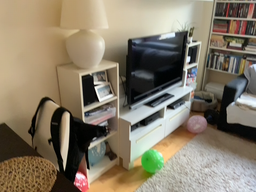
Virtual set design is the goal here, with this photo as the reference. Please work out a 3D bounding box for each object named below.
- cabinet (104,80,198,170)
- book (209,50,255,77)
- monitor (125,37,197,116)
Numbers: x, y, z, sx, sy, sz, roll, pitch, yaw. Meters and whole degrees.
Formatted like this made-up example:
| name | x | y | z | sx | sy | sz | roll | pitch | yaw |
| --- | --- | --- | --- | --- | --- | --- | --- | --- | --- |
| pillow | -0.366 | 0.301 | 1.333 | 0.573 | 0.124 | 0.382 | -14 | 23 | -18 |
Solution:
| name | x | y | z | sx | sy | sz | roll | pitch | yaw |
| --- | --- | --- | --- | --- | --- | --- | --- | --- | --- |
| cabinet | 0.320 | 0.250 | 2.530 | 0.440 | 0.530 | 1.220 | 20 | 29 | 37 |
| book | 1.710 | -0.530 | 3.370 | 0.770 | 0.270 | 0.150 | 22 | 31 | 40 |
| monitor | 0.390 | -0.260 | 2.250 | 0.080 | 0.630 | 1.090 | 21 | 29 | 40 |
